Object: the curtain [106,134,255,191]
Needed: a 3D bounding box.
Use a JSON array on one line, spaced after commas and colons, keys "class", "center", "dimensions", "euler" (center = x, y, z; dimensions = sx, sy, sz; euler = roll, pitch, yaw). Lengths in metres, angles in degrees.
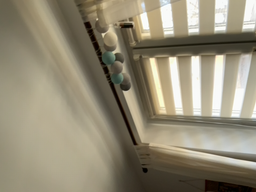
[{"class": "curtain", "center": [0.600, 0.510, 1.510], "dimensions": [0.390, 1.490, 0.160], "euler": [69, -150, -47]}]
